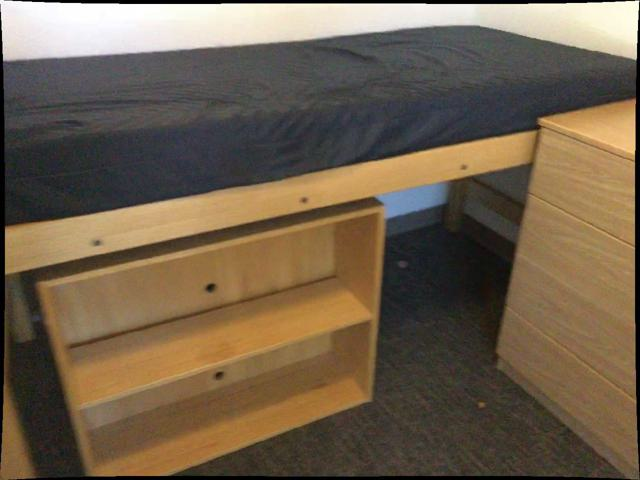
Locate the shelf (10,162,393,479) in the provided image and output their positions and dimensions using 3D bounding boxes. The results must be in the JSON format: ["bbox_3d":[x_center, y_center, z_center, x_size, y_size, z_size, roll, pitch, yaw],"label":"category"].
[{"bbox_3d":[-0.309,0.260,1.770,0.969,0.771,0.360,-14,33,-25],"label":"shelf"}]
